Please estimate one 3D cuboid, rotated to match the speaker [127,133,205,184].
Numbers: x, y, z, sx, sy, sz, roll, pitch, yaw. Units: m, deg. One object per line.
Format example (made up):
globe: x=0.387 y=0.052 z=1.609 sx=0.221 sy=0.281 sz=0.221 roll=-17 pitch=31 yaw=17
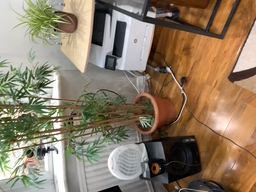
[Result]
speaker: x=0.270 y=0.460 z=1.570 sx=0.370 sy=0.370 sz=0.260 roll=-31 pitch=67 yaw=52
